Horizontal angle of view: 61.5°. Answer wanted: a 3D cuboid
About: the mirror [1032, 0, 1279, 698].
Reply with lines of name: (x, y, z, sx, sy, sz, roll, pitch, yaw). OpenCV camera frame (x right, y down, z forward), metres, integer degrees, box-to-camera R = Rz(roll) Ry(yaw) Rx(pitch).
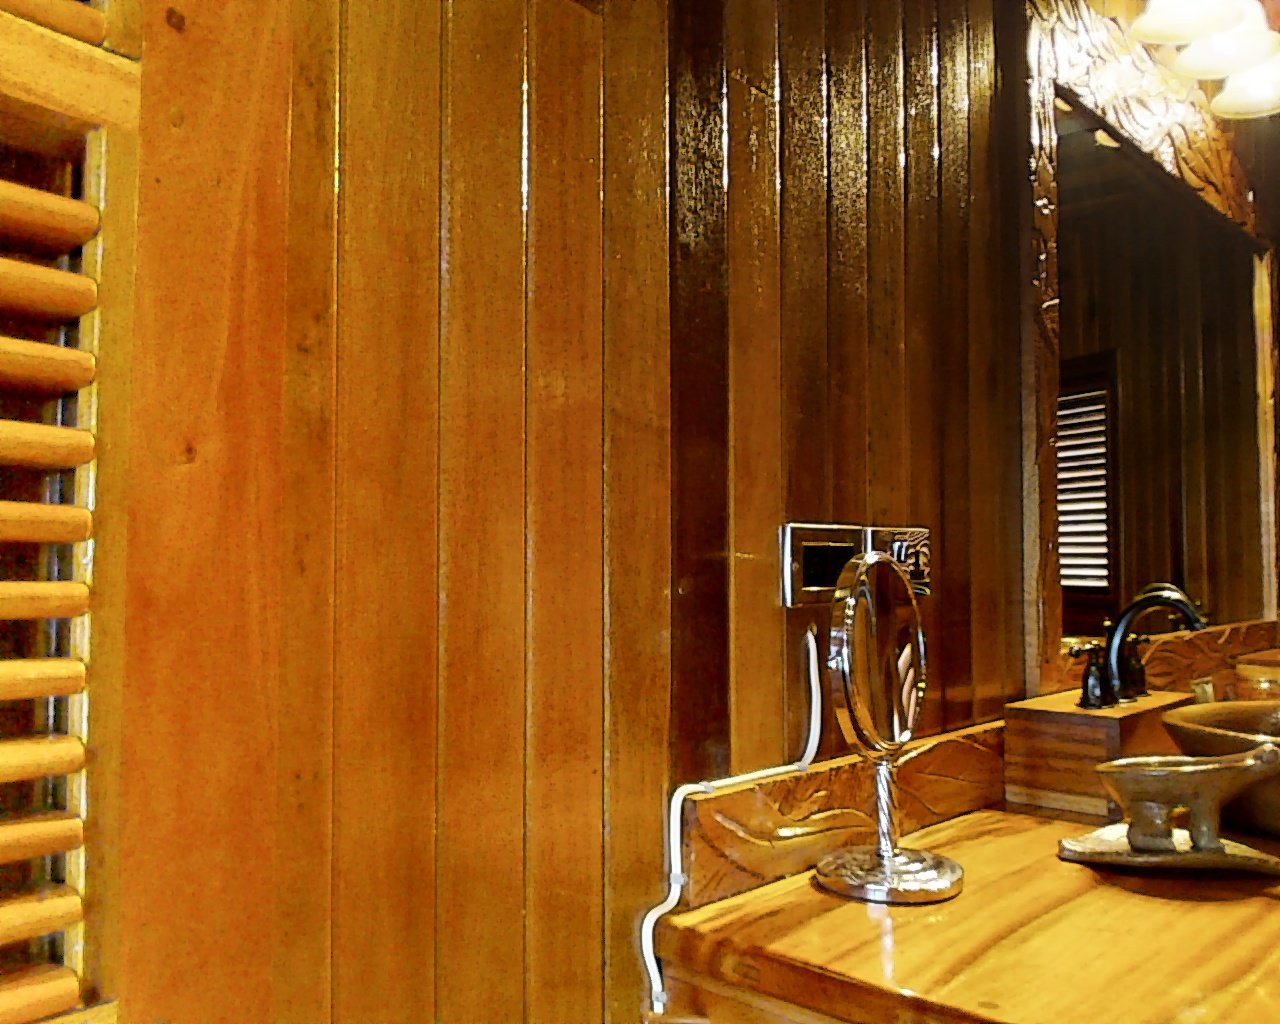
mirror: (1.120, -0.250, 2.090, 0.100, 1.070, 1.370, -2, -2, 45)
